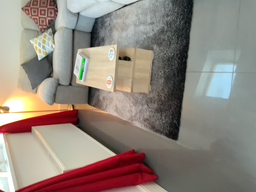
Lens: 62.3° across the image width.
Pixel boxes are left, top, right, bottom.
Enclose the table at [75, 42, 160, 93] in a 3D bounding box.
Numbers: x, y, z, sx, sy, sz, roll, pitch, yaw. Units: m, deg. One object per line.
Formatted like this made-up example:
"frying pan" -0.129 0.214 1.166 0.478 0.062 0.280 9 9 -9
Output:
"table" -0.170 -0.290 2.170 0.960 0.410 0.400 14 102 55
